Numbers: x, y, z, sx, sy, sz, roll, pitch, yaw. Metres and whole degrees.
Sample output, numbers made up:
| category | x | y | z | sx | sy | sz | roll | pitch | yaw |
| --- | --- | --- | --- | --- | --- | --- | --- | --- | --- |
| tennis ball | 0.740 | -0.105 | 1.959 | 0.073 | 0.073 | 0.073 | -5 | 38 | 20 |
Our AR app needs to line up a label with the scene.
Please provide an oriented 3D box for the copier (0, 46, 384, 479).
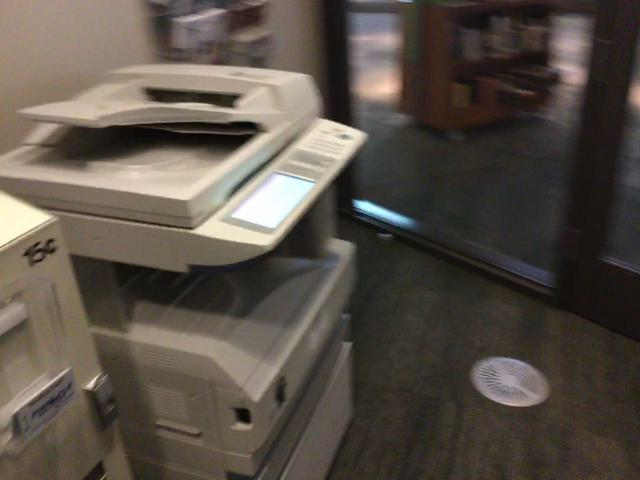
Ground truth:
| category | x | y | z | sx | sy | sz | roll | pitch | yaw |
| --- | --- | --- | --- | --- | --- | --- | --- | --- | --- |
| copier | -0.240 | 0.190 | 1.330 | 0.610 | 1.090 | 0.640 | 5 | 31 | 19 |

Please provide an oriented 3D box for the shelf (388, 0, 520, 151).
| category | x | y | z | sx | sy | sz | roll | pitch | yaw |
| --- | --- | --- | --- | --- | --- | --- | --- | --- | --- |
| shelf | 0.820 | -1.060 | 3.520 | 0.680 | 0.870 | 0.520 | 5 | 31 | 19 |
